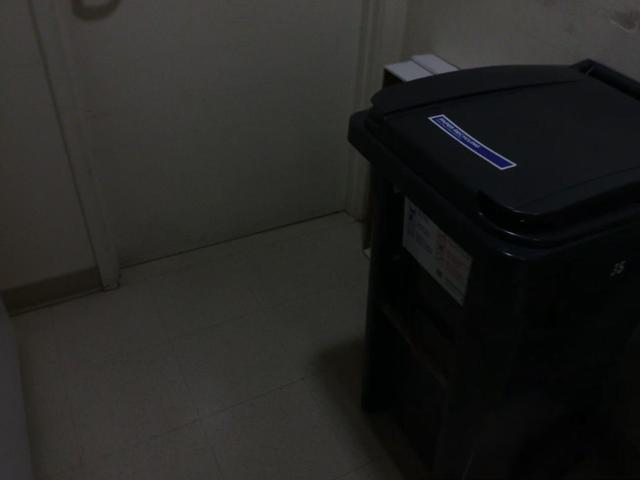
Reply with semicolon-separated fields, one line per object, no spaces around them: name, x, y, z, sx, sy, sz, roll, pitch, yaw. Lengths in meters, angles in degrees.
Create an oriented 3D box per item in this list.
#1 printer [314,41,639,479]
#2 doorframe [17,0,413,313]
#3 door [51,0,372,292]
printer;0.380;0.150;1.230;0.590;0.940;0.480;-15;39;-24
doorframe;-0.220;-0.740;1.470;1.040;1.930;0.180;-15;39;-24
door;-0.250;-0.760;1.500;0.870;1.930;0.120;-15;39;-24
